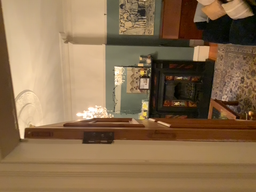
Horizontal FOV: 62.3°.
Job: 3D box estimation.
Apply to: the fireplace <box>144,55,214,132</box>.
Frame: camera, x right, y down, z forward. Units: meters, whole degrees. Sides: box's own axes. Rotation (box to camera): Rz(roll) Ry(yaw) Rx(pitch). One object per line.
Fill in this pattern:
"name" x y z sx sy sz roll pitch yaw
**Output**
"fireplace" 1.030 -0.080 4.650 0.800 1.180 1.480 -96 8 -73
